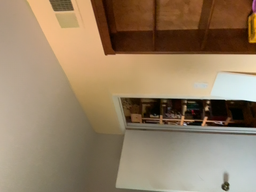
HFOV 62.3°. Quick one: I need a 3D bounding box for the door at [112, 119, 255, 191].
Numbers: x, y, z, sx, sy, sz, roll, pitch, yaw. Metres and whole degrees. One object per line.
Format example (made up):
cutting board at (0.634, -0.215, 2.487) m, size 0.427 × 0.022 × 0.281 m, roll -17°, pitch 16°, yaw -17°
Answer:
door at (0.870, 0.600, 2.290) m, size 0.890 × 1.960 × 0.040 m, roll -78°, pitch -13°, yaw -55°
